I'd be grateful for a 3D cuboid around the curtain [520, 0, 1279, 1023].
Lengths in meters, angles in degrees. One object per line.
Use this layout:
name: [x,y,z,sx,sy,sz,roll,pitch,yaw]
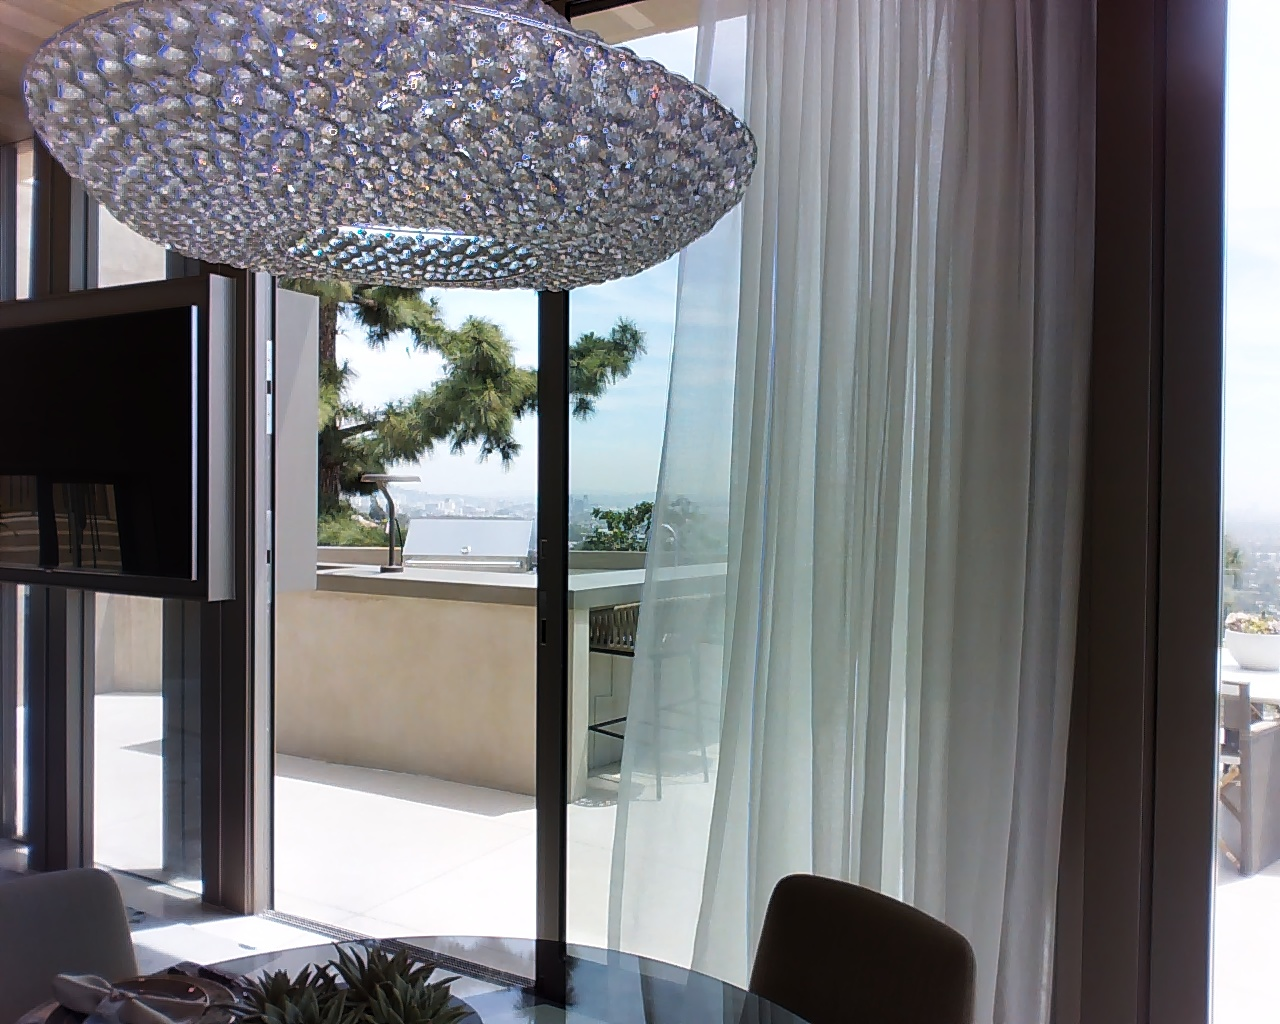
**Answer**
curtain: [0.530,-0.010,2.680,1.860,3.040,0.270,1,1,31]
